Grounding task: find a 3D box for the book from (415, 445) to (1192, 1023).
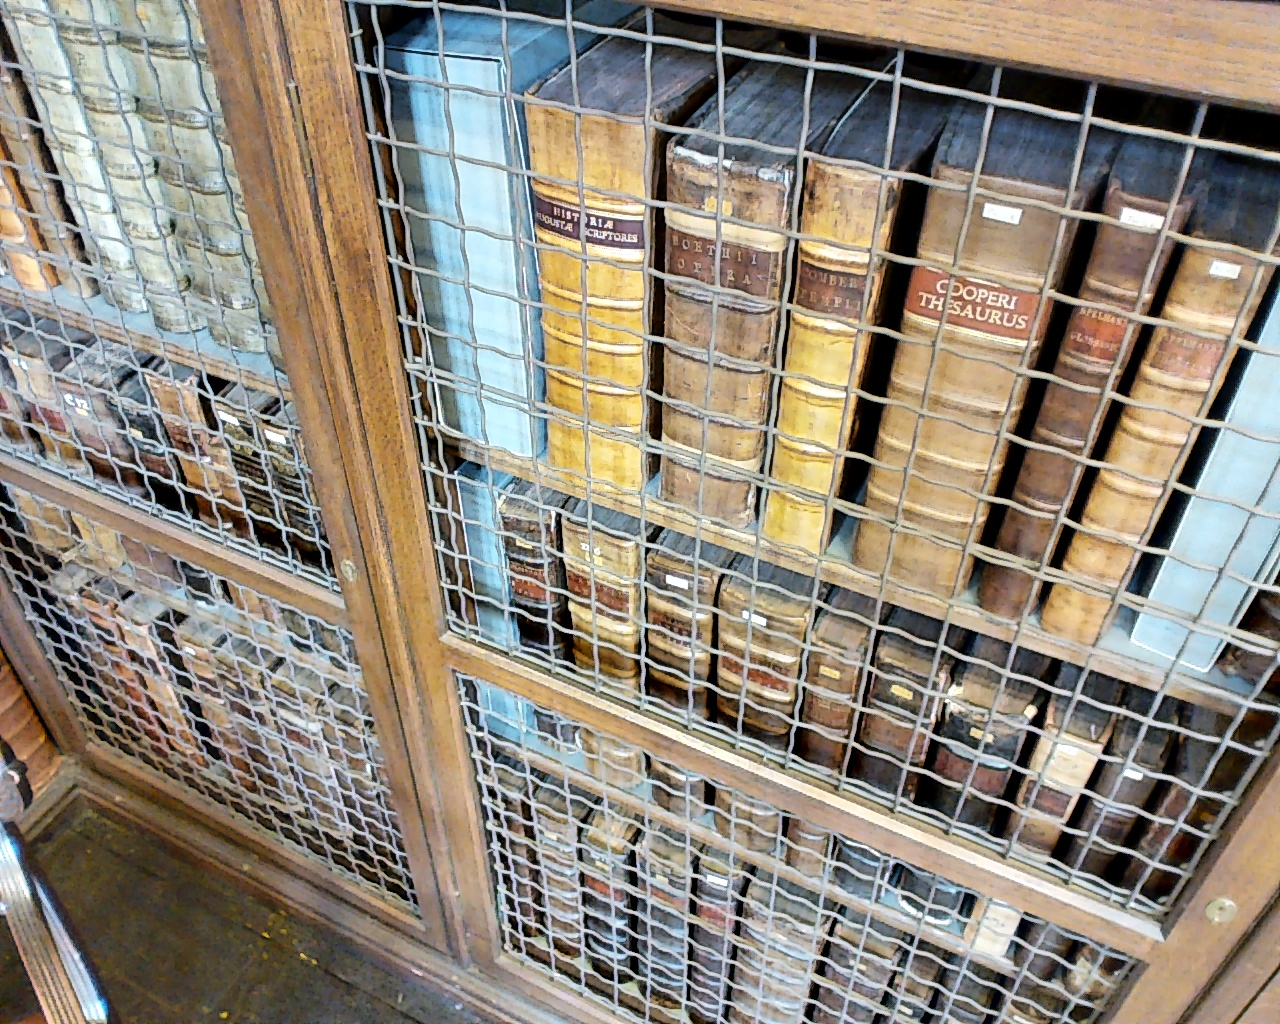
[{"bbox_3d":[0.130,0.370,1.210,0.660,0.790,0.180,16,43,17],"label":"book"}]
